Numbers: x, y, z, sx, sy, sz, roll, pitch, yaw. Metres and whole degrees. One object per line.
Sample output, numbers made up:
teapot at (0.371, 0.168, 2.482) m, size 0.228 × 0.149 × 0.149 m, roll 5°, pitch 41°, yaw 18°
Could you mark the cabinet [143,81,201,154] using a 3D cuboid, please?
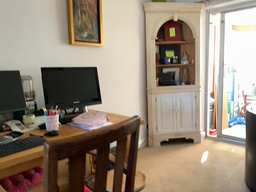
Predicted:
cabinet at (0.680, 0.270, 3.250) m, size 0.550 × 0.930 × 0.720 m, roll 6°, pitch 10°, yaw 44°
